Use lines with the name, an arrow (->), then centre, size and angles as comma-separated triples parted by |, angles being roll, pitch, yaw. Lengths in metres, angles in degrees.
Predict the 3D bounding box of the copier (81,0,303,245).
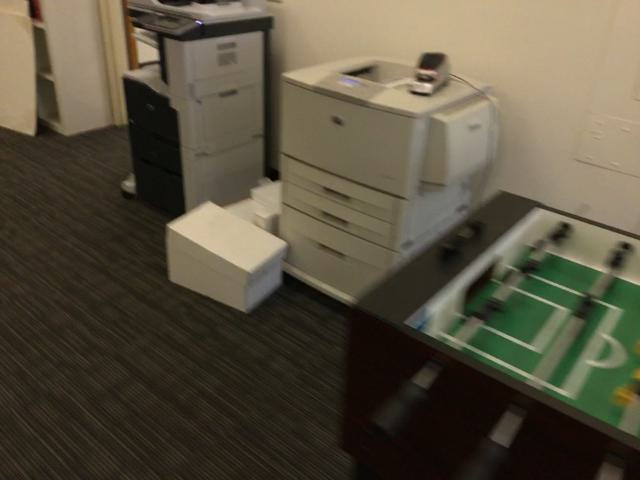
copier -> -0.650, -0.740, 3.020 | 0.760, 1.170, 0.730 | 23, 33, 30

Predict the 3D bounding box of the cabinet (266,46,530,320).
cabinet -> 0.280, -0.290, 2.390 | 0.770, 0.810, 0.600 | 25, 34, 32
